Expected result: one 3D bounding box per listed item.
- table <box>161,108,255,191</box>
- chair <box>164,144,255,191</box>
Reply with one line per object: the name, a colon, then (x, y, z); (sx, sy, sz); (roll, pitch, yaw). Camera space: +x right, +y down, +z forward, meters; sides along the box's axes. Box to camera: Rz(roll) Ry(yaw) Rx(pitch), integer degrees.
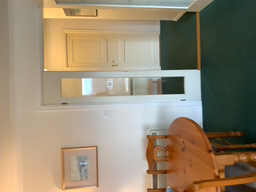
table: (0.770, 0.840, 1.670); (0.940, 0.740, 1.390); (-171, 80, -82)
chair: (0.740, 0.640, 1.380); (0.530, 0.860, 0.500); (180, 88, -82)
